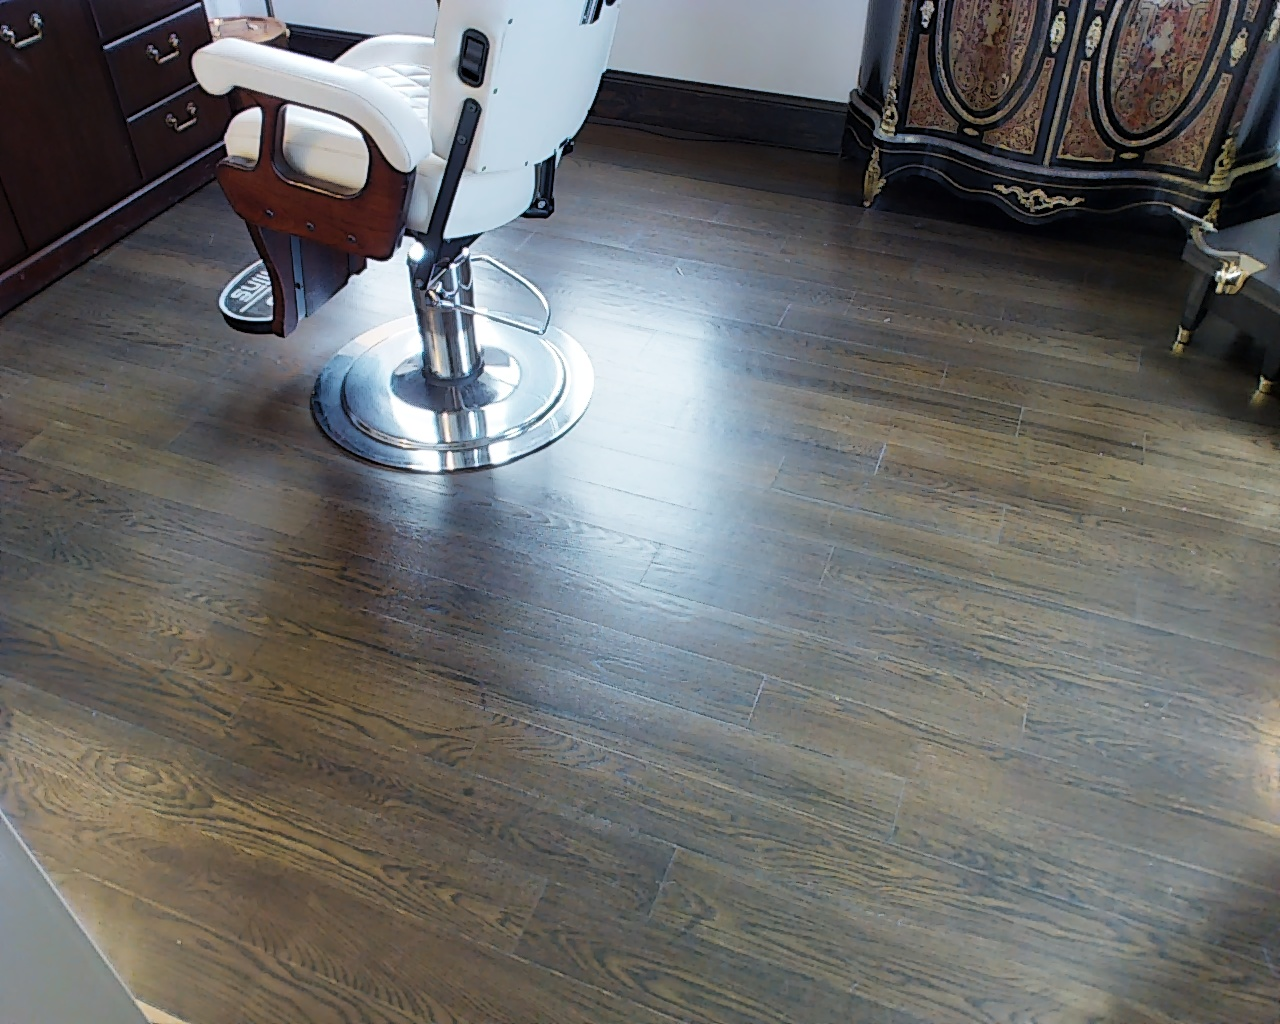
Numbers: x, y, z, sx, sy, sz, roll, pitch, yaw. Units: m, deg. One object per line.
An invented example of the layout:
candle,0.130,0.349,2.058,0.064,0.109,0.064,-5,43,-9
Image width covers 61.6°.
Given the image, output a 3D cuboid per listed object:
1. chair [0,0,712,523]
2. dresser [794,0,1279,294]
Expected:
chair,-0.510,-0.830,2.230,1.110,1.270,0.780,15,45,16
dresser,1.190,-1.330,2.970,1.330,1.080,0.510,15,45,16
